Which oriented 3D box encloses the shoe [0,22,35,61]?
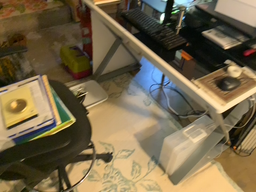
[{"bbox_3d":[-1.300,-0.600,2.300,0.390,0.080,0.560,-22,51,-24],"label":"shoe"}]

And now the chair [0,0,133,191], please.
[{"bbox_3d":[-0.430,0.120,1.010,0.630,1.040,0.560,-21,51,-23],"label":"chair"}]
